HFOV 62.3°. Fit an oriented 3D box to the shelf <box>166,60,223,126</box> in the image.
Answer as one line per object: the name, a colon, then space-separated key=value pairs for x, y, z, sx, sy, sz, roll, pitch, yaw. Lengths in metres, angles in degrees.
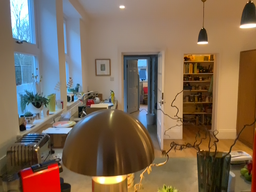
shelf: x=1.890 y=-0.090 z=6.120 sx=1.490 sy=1.880 sz=0.280 roll=0 pitch=7 yaw=1
